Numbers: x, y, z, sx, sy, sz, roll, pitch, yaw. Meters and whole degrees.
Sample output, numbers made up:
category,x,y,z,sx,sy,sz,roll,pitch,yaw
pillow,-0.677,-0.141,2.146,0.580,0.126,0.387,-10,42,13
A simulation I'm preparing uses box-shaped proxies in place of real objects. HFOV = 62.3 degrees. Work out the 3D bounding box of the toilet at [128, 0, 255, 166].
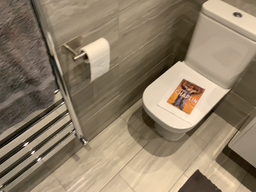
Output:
category,x,y,z,sx,sy,sz,roll,pitch,yaw
toilet,0.360,-0.040,1.300,0.600,0.820,0.370,-38,64,-25
